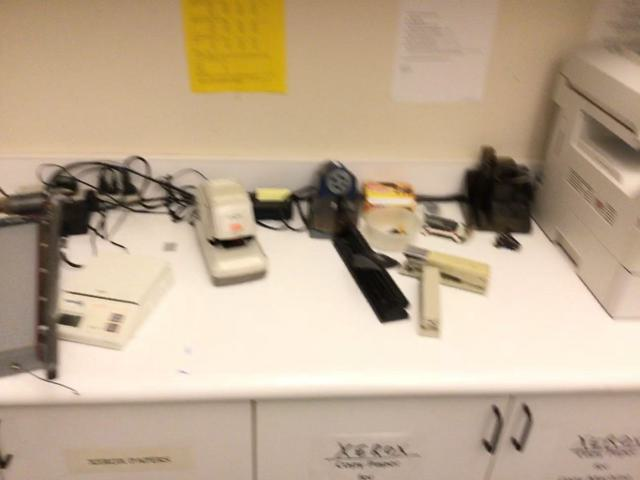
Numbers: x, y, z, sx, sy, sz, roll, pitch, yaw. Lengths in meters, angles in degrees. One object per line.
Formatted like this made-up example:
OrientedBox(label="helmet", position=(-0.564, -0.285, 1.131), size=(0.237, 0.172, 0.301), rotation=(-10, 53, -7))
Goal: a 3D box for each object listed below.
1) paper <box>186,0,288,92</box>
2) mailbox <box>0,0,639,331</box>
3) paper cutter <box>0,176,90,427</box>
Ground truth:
OrientedBox(label="paper", position=(-0.170, -0.440, 1.220), size=(0.200, 0.250, 0.040), rotation=(-1, 32, -4))
OrientedBox(label="mailbox", position=(0.490, -0.450, 1.070), size=(2.340, 1.060, 0.520), rotation=(-1, 32, -4))
OrientedBox(label="paper cutter", position=(-0.670, 0.090, 1.020), size=(0.450, 0.130, 0.570), rotation=(-8, 33, -13))
